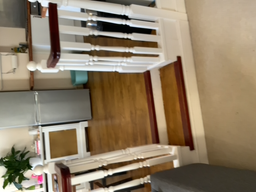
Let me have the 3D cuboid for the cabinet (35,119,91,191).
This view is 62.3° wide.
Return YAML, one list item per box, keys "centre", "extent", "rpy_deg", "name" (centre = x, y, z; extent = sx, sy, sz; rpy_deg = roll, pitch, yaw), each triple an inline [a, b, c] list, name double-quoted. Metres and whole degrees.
- centre: [-1.170, 1.050, 3.840]
  extent: [0.320, 0.840, 1.190]
  rpy_deg: [-16, 78, 60]
  name: "cabinet"
